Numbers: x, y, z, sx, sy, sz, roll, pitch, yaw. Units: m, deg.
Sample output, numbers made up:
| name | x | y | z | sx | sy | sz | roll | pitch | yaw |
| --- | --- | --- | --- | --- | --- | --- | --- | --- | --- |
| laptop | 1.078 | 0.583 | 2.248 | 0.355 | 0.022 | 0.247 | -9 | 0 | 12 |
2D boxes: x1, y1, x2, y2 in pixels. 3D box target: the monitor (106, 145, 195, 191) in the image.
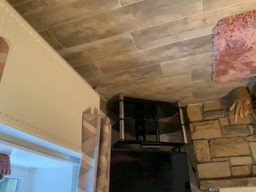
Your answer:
| name | x | y | z | sx | sy | sz | roll | pitch | yaw |
| --- | --- | --- | --- | --- | --- | --- | --- | --- | --- |
| monitor | 0.240 | 0.790 | 2.160 | 0.950 | 0.540 | 0.040 | 7 | 152 | -19 |

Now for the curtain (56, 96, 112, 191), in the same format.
| name | x | y | z | sx | sy | sz | roll | pitch | yaw |
| --- | --- | --- | --- | --- | --- | --- | --- | --- | --- |
| curtain | -0.290 | 1.000 | 1.400 | 0.270 | 2.010 | 0.370 | -8 | 153 | 11 |
